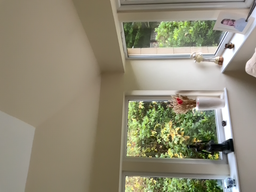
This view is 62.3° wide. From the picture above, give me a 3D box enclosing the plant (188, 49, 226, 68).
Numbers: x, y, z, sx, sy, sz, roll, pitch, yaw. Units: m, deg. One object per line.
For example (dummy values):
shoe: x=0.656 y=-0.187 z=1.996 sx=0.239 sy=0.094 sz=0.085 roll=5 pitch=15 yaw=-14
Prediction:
plant: x=1.010 y=-0.480 z=2.740 sx=0.130 sy=0.420 sz=0.200 roll=78 pitch=-167 yaw=-71
